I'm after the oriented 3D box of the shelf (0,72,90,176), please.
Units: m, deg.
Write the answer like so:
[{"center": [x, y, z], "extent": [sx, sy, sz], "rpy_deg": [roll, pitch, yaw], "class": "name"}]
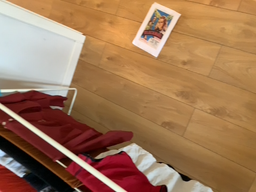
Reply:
[{"center": [-0.690, 0.160, 1.230], "extent": [0.200, 1.050, 0.550], "rpy_deg": [24, 99, 24], "class": "shelf"}]
